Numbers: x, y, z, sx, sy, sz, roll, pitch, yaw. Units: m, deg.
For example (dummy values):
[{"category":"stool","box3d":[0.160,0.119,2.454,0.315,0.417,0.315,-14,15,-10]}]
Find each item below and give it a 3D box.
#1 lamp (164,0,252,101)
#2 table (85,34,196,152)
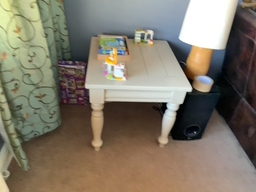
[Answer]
[{"category":"lamp","box3d":[0.410,-0.260,1.230,0.250,0.530,0.270,1,38,-8]},{"category":"table","box3d":[0.020,-0.030,1.340,0.520,0.500,0.540,1,38,-7]}]
